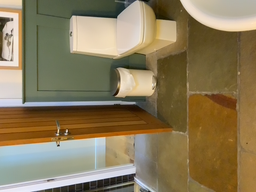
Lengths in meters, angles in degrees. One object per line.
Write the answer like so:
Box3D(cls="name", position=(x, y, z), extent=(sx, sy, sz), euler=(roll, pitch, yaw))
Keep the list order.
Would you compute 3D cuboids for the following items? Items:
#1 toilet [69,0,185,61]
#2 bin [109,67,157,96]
Box3D(cls="toilet", position=(-0.040, -0.580, 1.900), extent=(0.680, 0.820, 0.400), euler=(3, 93, 63))
Box3D(cls="bin", position=(0.050, -0.140, 2.200), extent=(0.250, 0.430, 0.270), euler=(0, 91, 63))
